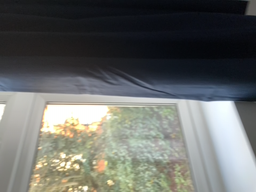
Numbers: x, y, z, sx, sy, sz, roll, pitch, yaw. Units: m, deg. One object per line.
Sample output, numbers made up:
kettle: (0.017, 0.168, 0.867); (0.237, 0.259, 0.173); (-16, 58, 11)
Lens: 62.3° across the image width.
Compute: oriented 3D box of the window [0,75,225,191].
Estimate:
window: (-0.240, 0.660, 0.490); (0.210, 1.140, 1.740); (98, 171, -51)
